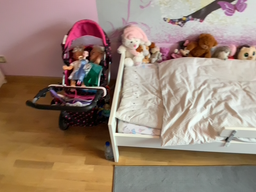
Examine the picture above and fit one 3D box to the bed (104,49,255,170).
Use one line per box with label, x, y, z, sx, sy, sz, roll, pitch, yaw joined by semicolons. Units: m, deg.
bed;0.730;0.070;1.590;1.680;0.410;0.800;2;48;4
